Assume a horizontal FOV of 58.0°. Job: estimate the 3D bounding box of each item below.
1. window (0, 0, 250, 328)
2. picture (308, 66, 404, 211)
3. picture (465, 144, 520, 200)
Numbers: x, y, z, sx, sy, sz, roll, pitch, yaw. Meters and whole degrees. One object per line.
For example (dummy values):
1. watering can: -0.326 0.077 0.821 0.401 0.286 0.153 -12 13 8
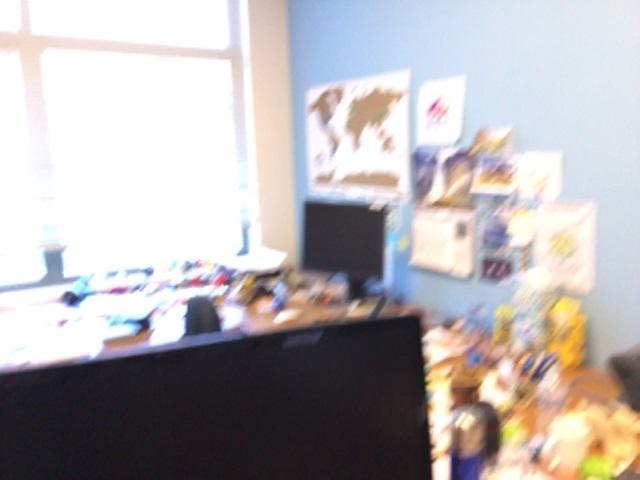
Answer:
1. window: -1.250 -0.370 2.490 1.790 1.370 0.440 -7 8 -32
2. picture: 0.150 -0.450 2.710 0.040 0.600 0.670 -7 8 -32
3. picture: 0.610 -0.240 2.060 0.030 0.190 0.220 -7 8 -32
